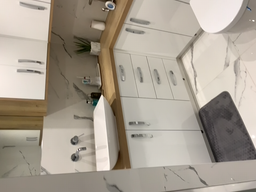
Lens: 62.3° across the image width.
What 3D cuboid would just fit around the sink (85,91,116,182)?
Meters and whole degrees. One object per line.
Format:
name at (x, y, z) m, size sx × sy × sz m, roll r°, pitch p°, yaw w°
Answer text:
sink at (-0.230, 0.310, 1.640) m, size 0.360 × 0.100 × 0.590 m, roll 125°, pitch 143°, yaw -51°

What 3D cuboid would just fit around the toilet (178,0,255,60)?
toilet at (0.700, -0.610, 1.420) m, size 0.410 × 0.460 × 0.540 m, roll 125°, pitch 143°, yaw -51°
